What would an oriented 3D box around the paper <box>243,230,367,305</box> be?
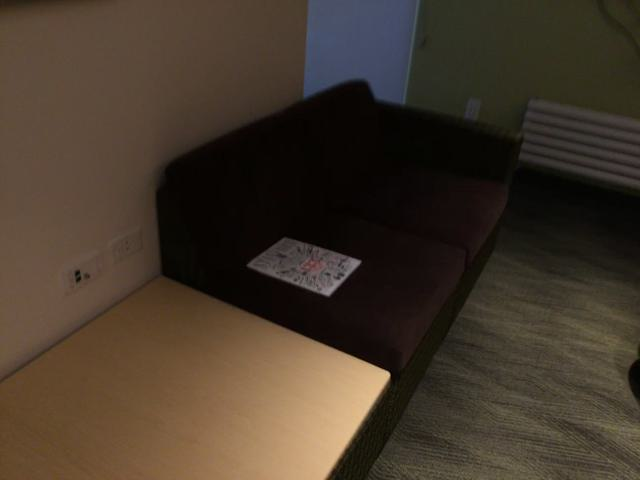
[{"bbox_3d":[-0.040,0.070,1.660,0.280,0.030,0.220,19,35,25],"label":"paper"}]
